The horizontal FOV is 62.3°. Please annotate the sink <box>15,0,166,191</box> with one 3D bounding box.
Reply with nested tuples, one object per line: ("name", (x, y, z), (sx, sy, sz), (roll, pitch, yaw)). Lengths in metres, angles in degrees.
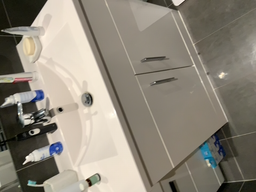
("sink", (-0.200, 0.020, 0.860), (0.450, 0.130, 0.730), (-28, 81, 40))
